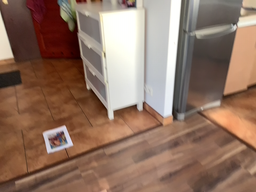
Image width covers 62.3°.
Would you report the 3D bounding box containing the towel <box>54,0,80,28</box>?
[{"bbox_3d":[-0.950,-1.560,3.170,0.300,1.010,0.170,3,29,7],"label":"towel"}]
